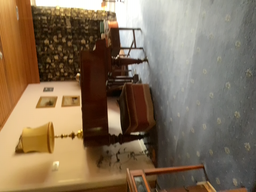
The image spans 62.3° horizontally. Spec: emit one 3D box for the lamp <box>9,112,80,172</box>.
[{"bbox_3d":[-1.090,0.610,2.940,0.480,0.800,0.580,-119,29,-64],"label":"lamp"}]
